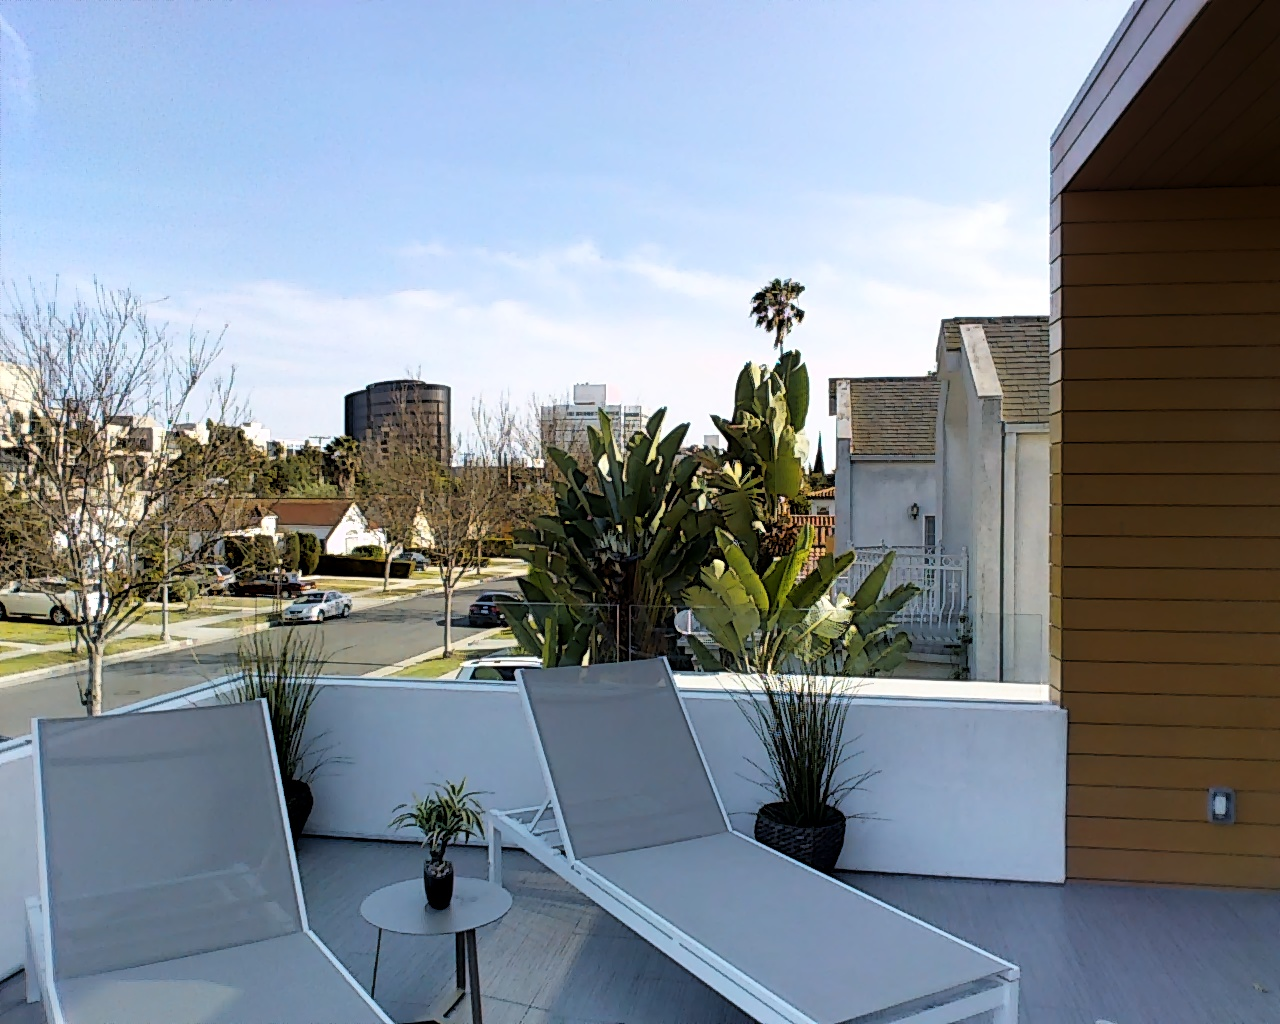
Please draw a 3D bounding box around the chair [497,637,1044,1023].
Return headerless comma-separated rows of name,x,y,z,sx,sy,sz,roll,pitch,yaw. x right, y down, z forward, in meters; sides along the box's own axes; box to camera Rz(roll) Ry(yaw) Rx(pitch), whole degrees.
chair,0.260,1.030,3.490,0.750,0.970,1.920,-1,1,-30
